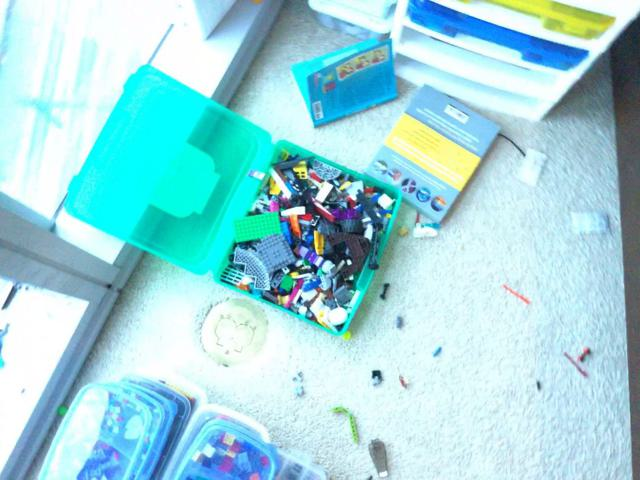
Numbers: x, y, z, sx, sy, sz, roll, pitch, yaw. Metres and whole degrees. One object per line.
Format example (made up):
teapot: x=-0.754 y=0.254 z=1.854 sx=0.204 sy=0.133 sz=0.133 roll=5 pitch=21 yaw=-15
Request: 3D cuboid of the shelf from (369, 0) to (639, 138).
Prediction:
shelf: x=0.340 y=-0.500 z=0.980 sx=0.430 sy=0.370 sz=0.640 roll=6 pitch=-14 yaw=1

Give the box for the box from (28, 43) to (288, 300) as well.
box: x=-0.300 y=-0.130 z=1.170 sx=0.340 sy=0.380 sz=0.200 roll=21 pitch=-13 yaw=5

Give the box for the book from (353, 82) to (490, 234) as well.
book: x=0.220 y=-0.180 z=1.240 sx=0.270 sy=0.310 sz=0.030 roll=6 pitch=-14 yaw=1
